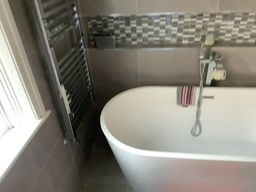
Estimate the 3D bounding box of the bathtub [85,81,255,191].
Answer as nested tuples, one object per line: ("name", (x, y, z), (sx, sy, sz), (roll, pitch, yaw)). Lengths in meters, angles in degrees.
("bathtub", (0.680, 0.380, 1.640), (1.740, 0.590, 0.840), (3, 34, 9))
